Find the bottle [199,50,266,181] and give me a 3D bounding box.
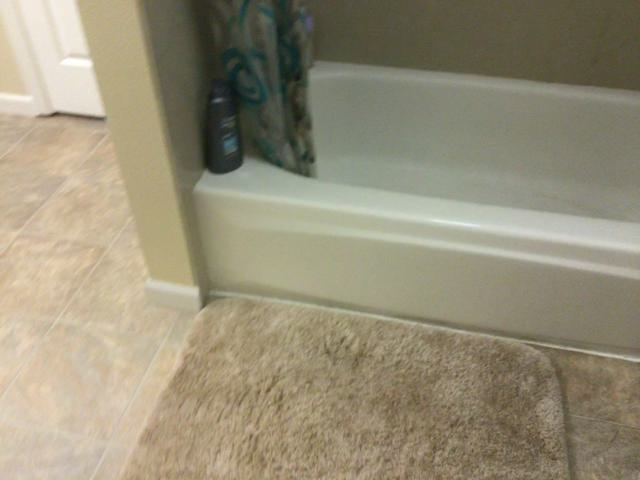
[{"bbox_3d":[-0.210,-0.310,1.440,0.080,0.240,0.210,10,43,9],"label":"bottle"}]
